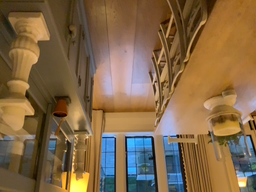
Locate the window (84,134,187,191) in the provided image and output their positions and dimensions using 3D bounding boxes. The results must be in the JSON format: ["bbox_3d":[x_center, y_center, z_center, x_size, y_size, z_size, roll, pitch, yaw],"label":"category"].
[{"bbox_3d":[0.140,1.530,3.710,1.780,1.770,0.060,1,152,-5],"label":"window"}]
